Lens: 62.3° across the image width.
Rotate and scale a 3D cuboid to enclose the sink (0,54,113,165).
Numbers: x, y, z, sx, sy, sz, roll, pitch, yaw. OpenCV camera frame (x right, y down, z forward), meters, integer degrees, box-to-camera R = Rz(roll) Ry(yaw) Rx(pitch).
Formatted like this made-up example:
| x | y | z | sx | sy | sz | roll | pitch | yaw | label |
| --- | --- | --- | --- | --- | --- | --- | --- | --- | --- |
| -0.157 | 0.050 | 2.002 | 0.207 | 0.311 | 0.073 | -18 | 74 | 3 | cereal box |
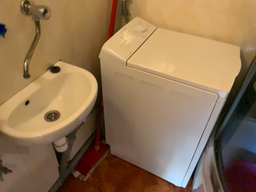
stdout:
| x | y | z | sx | sy | sz | roll | pitch | yaw | label |
| --- | --- | --- | --- | --- | --- | --- | --- | --- | --- |
| -0.280 | 0.030 | 0.920 | 0.260 | 0.200 | 0.400 | 21 | 45 | 18 | sink |
